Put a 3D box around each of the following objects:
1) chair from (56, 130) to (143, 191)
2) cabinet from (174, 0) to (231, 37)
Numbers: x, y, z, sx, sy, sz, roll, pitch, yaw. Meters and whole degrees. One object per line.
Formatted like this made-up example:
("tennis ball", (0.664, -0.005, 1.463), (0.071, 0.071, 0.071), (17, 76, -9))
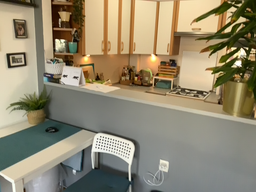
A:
("chair", (-0.200, 0.730, 1.580), (0.390, 0.750, 0.480), (11, 16, 29))
("cabinet", (1.010, -1.050, 2.880), (0.630, 0.430, 0.350), (11, 16, 28))
